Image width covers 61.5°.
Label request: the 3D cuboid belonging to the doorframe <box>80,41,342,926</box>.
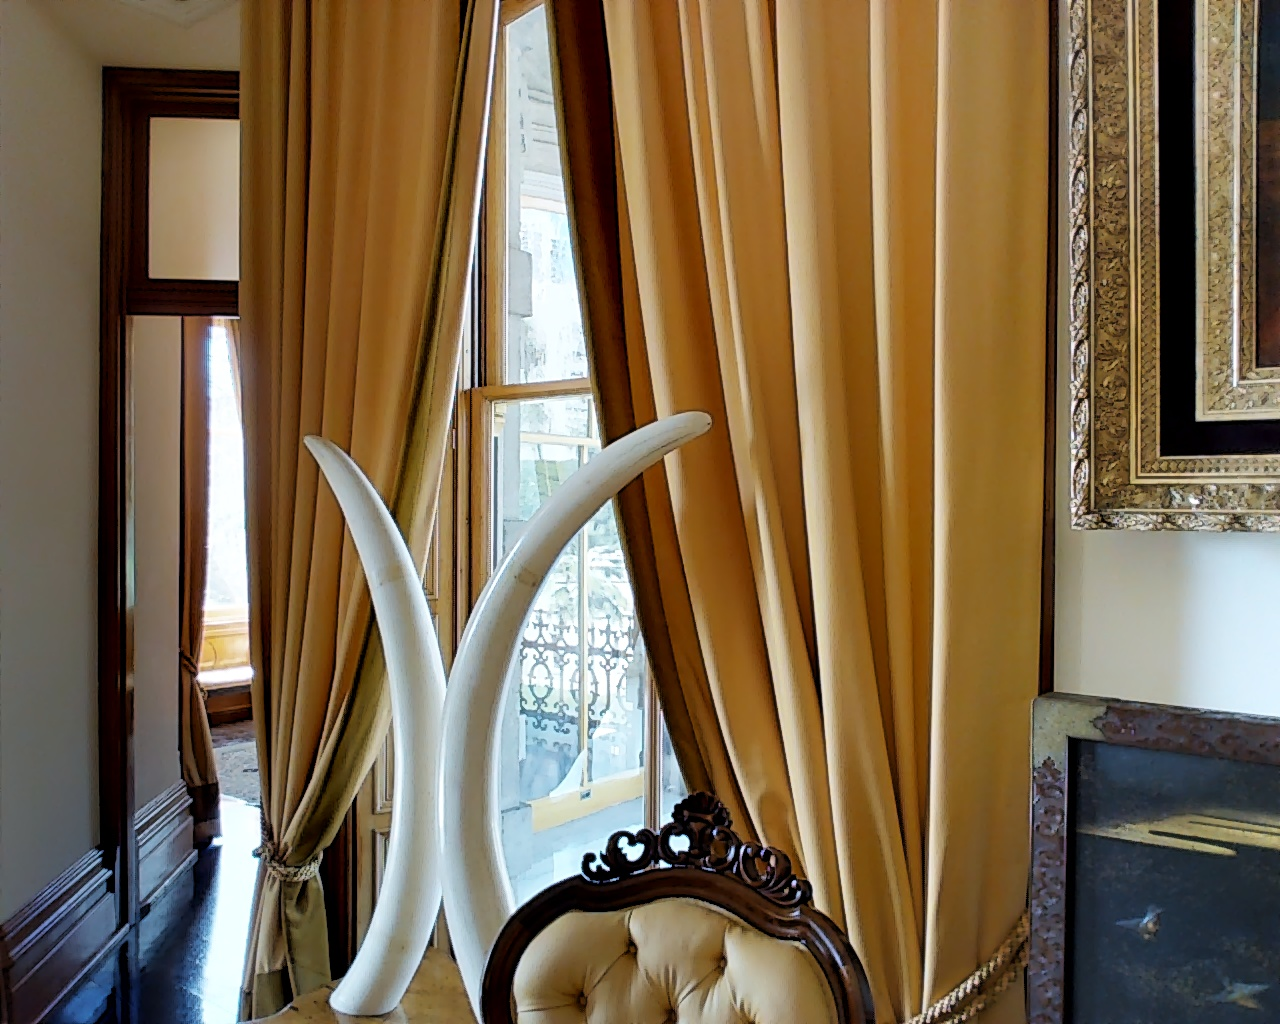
[{"bbox_3d":[-1.580,-0.090,4.050,0.810,3.110,0.460,0,1,-6],"label":"doorframe"}]
